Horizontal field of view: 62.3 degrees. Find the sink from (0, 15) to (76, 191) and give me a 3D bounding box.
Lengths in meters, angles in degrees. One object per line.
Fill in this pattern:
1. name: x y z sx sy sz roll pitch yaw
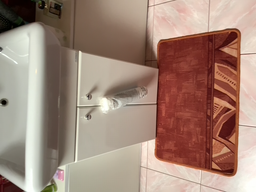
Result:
1. sink: -0.430 0.030 0.840 0.470 0.160 0.560 3 91 37
